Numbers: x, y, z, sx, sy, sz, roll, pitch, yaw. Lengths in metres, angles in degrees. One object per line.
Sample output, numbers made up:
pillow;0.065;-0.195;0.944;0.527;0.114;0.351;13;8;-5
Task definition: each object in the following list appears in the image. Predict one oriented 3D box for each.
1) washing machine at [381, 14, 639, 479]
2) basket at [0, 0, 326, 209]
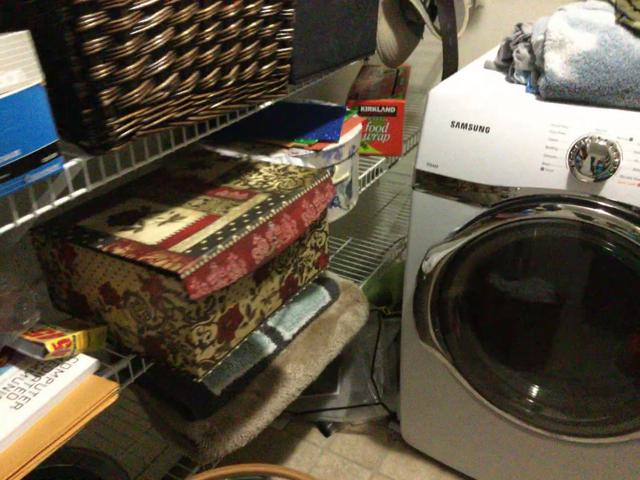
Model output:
washing machine;0.640;0.060;1.410;0.710;1.020;0.730;15;34;28
basket;-0.170;-0.280;0.750;0.140;0.310;0.440;15;34;28
